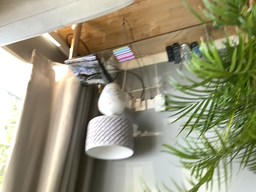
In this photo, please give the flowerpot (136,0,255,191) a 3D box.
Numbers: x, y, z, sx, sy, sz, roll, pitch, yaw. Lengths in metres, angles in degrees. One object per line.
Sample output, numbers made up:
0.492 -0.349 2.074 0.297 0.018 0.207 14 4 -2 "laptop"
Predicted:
0.530 -0.140 1.280 0.710 1.250 0.710 -14 147 23 "flowerpot"
